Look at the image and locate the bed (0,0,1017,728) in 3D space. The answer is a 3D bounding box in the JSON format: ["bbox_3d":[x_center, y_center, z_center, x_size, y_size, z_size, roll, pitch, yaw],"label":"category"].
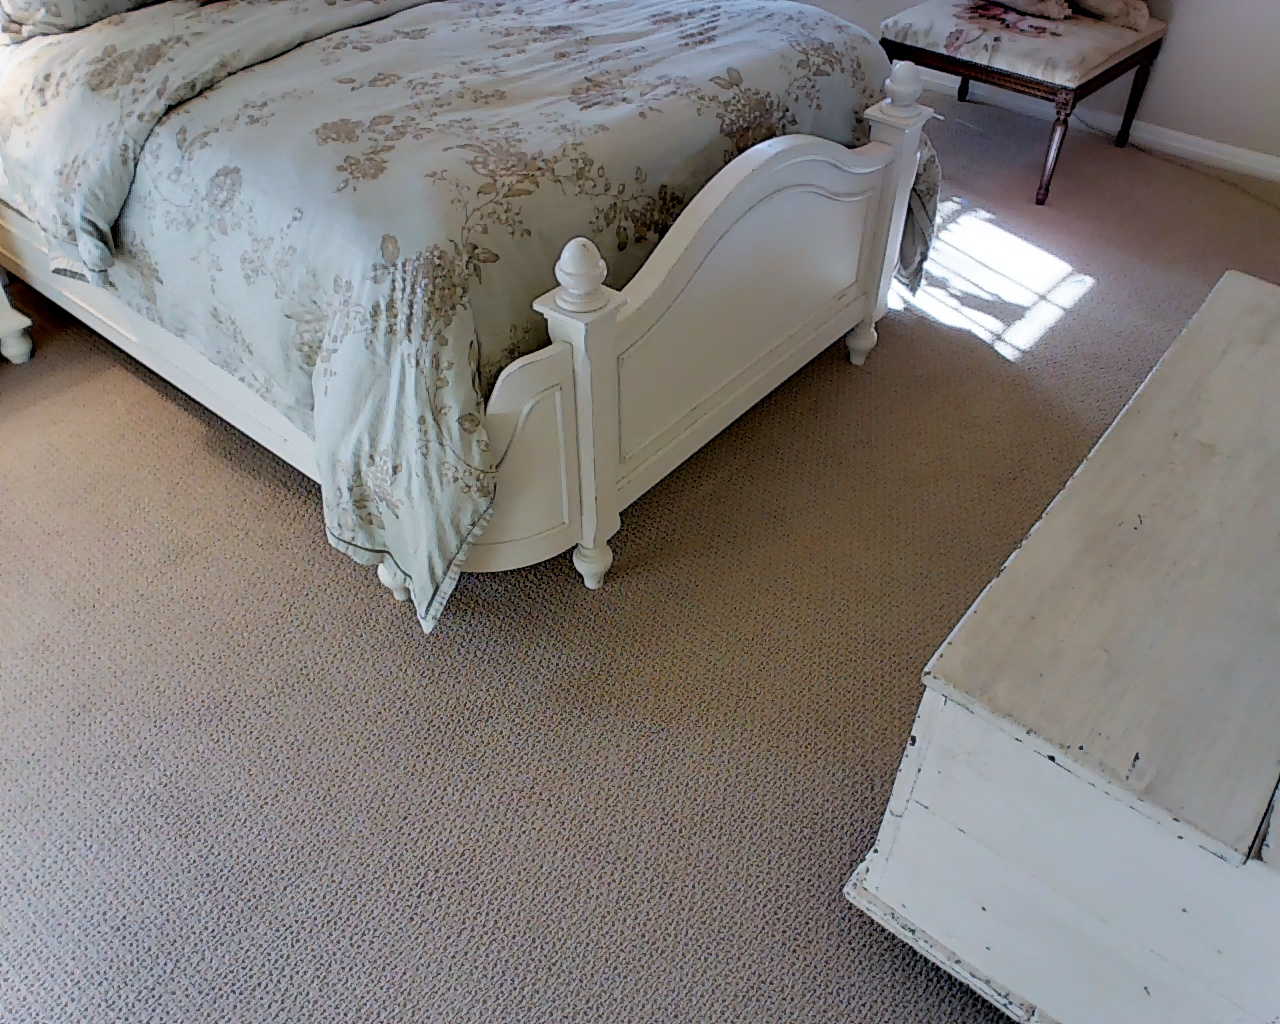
[{"bbox_3d":[-0.520,-0.820,2.700,2.050,0.850,1.780,31,51,30],"label":"bed"}]

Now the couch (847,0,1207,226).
[{"bbox_3d":[1.330,-1.500,3.750,0.800,0.490,0.870,30,50,29],"label":"couch"}]
